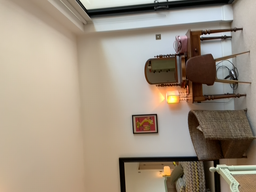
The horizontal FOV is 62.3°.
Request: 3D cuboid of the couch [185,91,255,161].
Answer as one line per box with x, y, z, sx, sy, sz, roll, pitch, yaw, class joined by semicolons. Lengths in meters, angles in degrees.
1.300;0.460;3.140;0.760;0.720;0.700;80;-171;-49;couch
